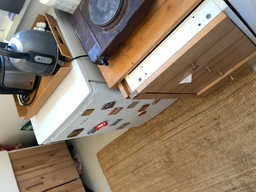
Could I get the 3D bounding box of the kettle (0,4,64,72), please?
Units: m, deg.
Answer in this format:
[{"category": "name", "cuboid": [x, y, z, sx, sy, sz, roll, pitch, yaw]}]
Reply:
[{"category": "kettle", "cuboid": [-0.410, -0.220, 0.860, 0.170, 0.190, 0.160, -41, 66, 31]}]
